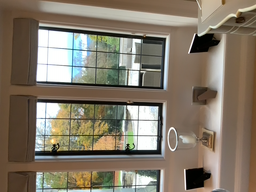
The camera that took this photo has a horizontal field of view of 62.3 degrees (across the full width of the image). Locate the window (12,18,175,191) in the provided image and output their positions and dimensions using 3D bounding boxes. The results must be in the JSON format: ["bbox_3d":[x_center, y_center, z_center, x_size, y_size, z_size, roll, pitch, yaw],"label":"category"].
[{"bbox_3d":[-0.340,0.310,2.330,0.090,1.660,2.100,-168,81,-78],"label":"window"}]
